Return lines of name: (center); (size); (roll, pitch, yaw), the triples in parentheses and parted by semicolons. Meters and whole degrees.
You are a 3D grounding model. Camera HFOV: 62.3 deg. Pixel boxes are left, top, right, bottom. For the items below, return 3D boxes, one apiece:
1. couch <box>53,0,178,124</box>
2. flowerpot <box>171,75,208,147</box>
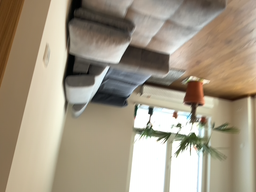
couch: (-0.310, -0.260, 3.110); (1.090, 1.010, 2.270); (10, 166, -11)
flowerpot: (1.150, 0.300, 3.970); (0.440, 1.230, 0.430); (12, 165, -21)
